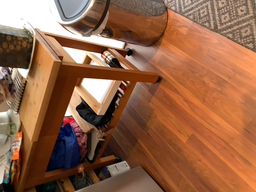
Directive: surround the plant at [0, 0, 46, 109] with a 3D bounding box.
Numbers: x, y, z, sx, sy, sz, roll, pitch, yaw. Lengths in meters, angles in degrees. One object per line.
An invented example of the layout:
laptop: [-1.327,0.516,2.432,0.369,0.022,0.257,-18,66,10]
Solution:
plant: [-0.660,-0.230,0.980,0.400,0.310,0.430,45,120,34]
